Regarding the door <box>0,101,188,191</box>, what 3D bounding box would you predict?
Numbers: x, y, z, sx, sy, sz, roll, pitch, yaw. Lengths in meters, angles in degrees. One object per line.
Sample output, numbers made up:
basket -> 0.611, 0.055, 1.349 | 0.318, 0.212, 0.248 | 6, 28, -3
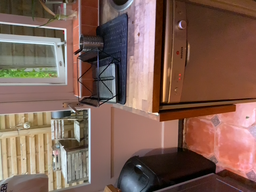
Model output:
door -> -0.320, 0.420, 1.600 | 0.040, 2.030, 0.680 | 11, 101, 60
